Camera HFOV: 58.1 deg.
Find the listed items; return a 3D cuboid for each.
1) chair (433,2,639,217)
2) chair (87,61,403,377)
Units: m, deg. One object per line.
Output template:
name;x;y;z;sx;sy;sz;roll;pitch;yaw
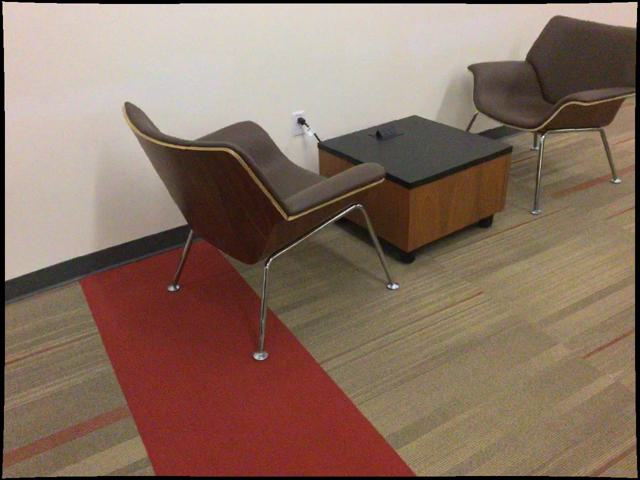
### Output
chair;1.207;-0.752;3.090;0.779;0.802;0.860;-19;34;-24
chair;-0.259;-0.160;2.220;0.779;0.761;0.829;-26;37;-32
